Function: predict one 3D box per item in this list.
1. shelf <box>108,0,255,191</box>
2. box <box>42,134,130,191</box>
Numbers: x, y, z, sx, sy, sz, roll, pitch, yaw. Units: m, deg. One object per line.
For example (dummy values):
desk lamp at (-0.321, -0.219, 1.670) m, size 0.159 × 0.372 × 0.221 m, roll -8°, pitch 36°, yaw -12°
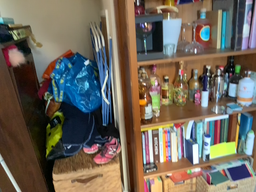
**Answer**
shelf at (0.390, -0.060, 1.320) m, size 0.920 × 1.900 × 0.380 m, roll -6°, pitch 21°, yaw -9°
box at (-0.290, 0.620, 1.590) m, size 0.550 × 0.510 × 0.270 m, roll -7°, pitch 21°, yaw -11°
